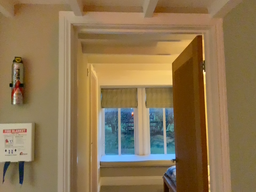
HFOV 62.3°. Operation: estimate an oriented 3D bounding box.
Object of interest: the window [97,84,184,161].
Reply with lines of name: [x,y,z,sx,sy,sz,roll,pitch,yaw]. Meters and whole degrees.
window: [0.270,0.590,4.920,1.940,1.720,0.230,0,-3,-1]
